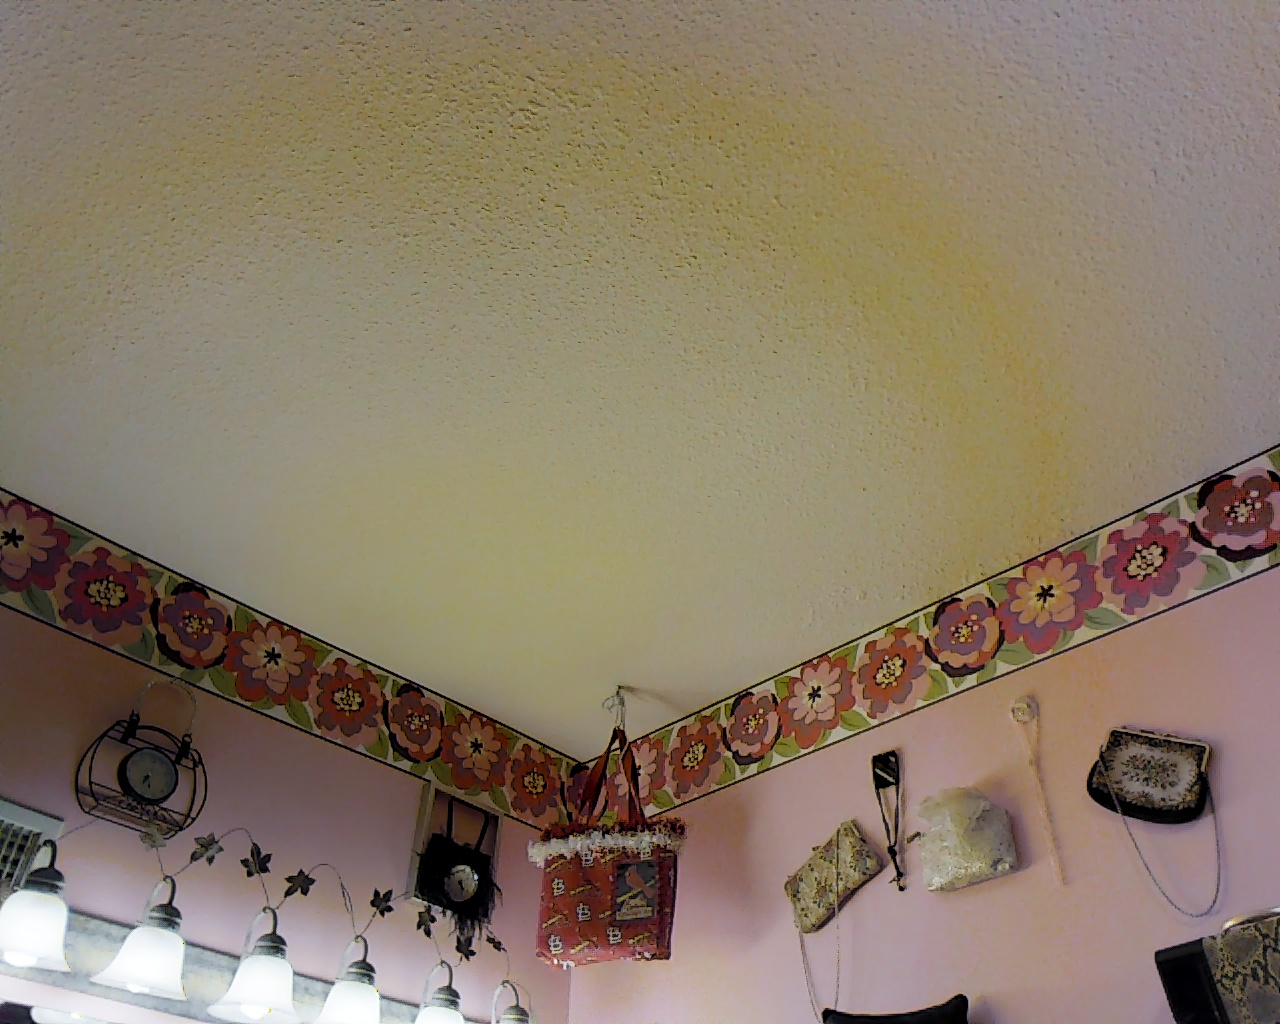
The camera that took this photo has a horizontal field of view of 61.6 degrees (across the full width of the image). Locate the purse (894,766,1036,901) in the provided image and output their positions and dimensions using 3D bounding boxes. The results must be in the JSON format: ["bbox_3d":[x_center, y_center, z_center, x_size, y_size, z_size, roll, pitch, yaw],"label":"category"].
[{"bbox_3d":[0.600,0.600,2.000,0.210,0.170,0.090,-32,-50,32],"label":"purse"}]

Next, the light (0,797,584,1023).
[{"bbox_3d":[-0.620,0.860,1.980,0.230,0.230,1.190,-32,-50,33],"label":"light"}]
